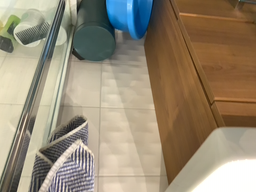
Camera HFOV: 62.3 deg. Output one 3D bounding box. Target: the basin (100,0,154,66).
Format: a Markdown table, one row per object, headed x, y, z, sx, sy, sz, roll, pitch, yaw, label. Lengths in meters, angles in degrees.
| x | y | z | sx | sy | sz | roll | pitch | yaw | label |
| --- | --- | --- | --- | --- | --- | --- | --- | --- | --- |
| -0.020 | -0.370 | 0.900 | 0.190 | 0.270 | 0.390 | 1 | 139 | -6 | basin |
